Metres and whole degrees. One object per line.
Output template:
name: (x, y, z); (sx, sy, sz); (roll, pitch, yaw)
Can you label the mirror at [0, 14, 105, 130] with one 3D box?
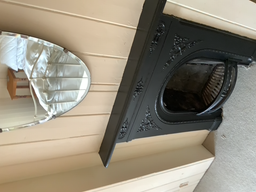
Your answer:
mirror: (-0.440, -0.060, 0.720); (0.040, 0.680, 0.420); (48, 128, 45)
